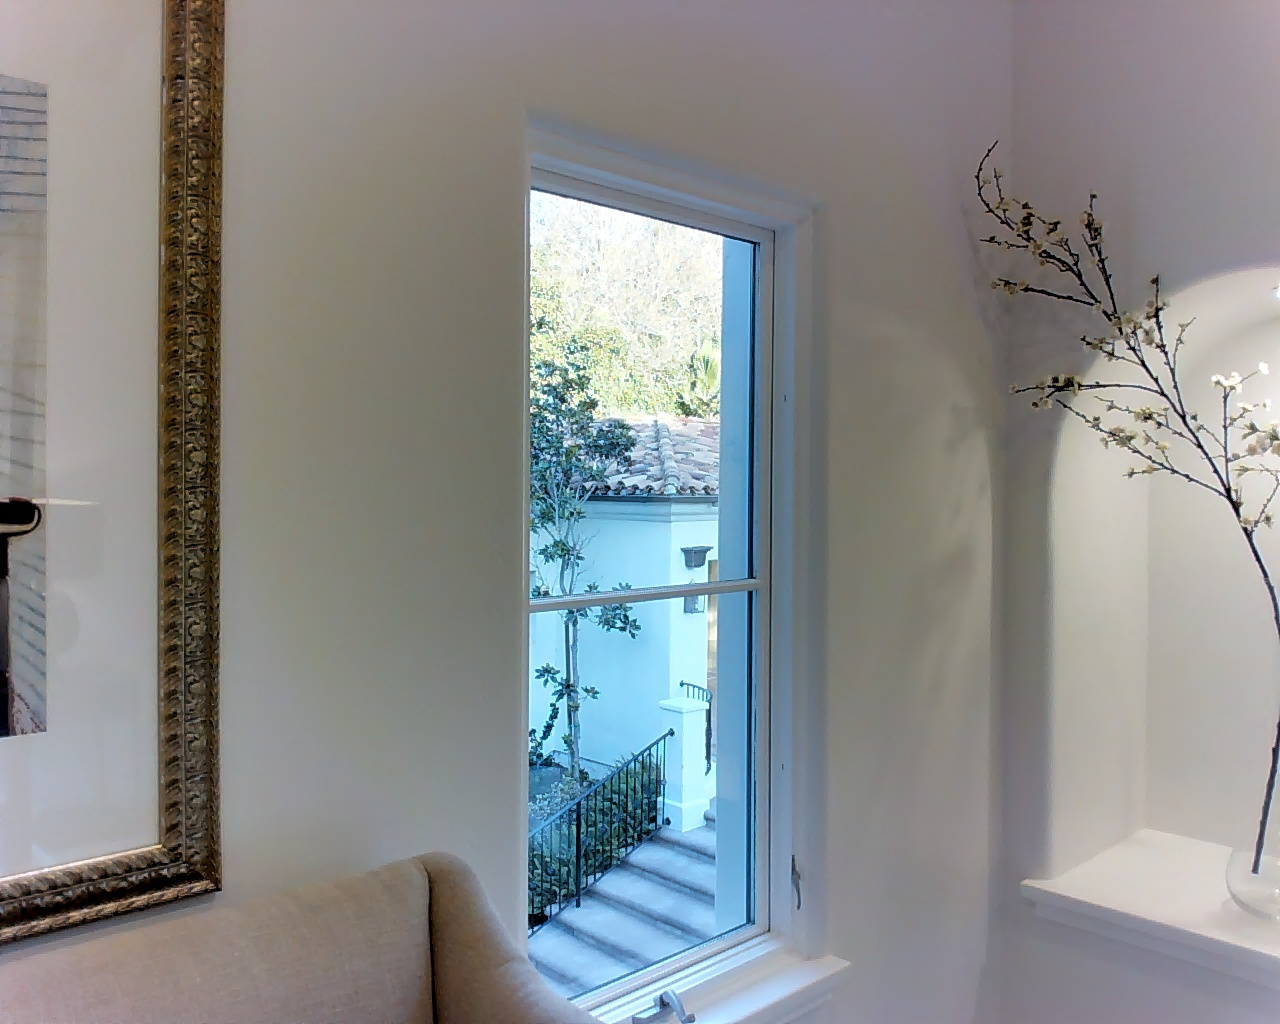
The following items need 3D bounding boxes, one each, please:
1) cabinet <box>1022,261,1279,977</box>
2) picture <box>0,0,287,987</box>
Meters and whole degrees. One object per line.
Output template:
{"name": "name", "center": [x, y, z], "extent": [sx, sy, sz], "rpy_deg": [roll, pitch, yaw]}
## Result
{"name": "cabinet", "center": [1.360, 0.210, 2.310], "extent": [0.370, 1.420, 0.900], "rpy_deg": [1, 0, -44]}
{"name": "picture", "center": [-0.790, -0.080, 0.970], "extent": [0.940, 1.120, 0.040], "rpy_deg": [1, 0, -44]}
